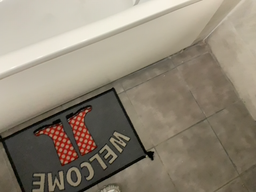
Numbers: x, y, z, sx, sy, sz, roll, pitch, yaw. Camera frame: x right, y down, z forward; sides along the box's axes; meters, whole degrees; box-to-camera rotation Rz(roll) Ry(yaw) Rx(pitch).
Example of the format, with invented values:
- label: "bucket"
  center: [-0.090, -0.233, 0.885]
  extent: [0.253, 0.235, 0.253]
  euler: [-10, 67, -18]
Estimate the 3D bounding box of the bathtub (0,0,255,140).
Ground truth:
- label: "bathtub"
  center: [-0.360, -0.340, 0.900]
  extent: [1.620, 0.550, 0.700]
  euler: [-25, 80, -13]
